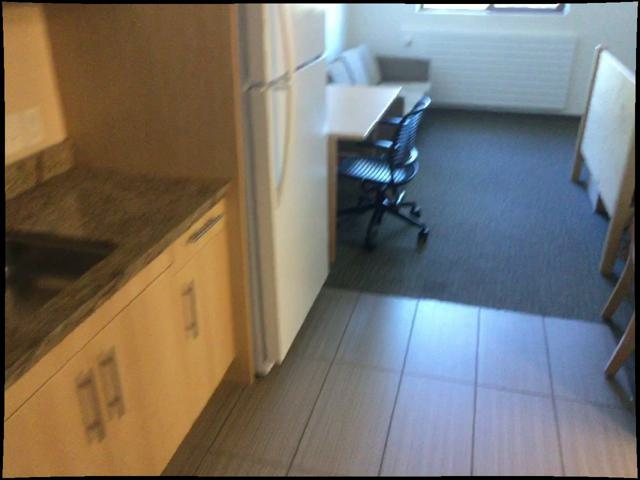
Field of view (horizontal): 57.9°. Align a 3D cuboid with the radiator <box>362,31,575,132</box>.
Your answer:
[{"bbox_3d":[1.459,-1.652,5.970,2.008,0.881,0.260,7,27,14],"label":"radiator"}]

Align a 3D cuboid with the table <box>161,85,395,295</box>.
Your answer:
[{"bbox_3d":[-0.140,-0.400,3.470,0.929,0.741,1.380,7,27,14],"label":"table"}]
